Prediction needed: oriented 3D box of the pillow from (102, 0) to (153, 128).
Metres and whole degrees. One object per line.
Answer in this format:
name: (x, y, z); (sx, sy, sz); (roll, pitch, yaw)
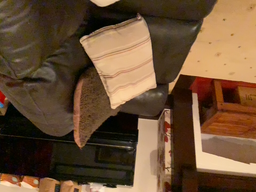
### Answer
pillow: (-0.020, -0.160, 1.240); (0.120, 0.360, 0.630); (-13, 92, -7)
